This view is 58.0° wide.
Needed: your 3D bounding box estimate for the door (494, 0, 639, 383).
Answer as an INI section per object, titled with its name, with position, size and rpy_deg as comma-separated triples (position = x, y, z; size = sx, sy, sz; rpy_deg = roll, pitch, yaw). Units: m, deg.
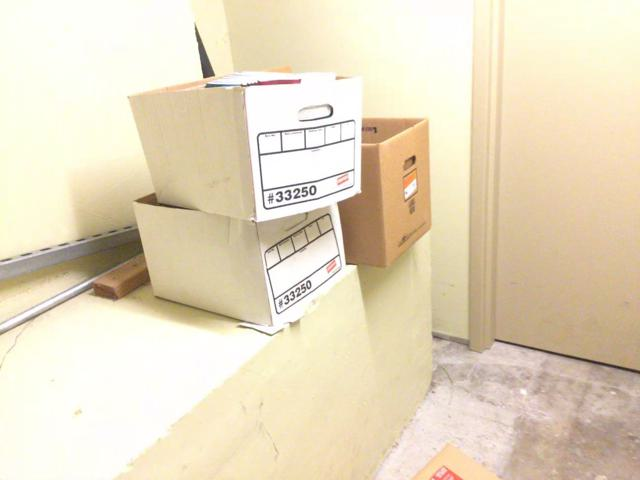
[door]
position = 0.960, -0.490, 1.700
size = 0.840, 2.040, 0.170
rpy_deg = 8, 26, 34
